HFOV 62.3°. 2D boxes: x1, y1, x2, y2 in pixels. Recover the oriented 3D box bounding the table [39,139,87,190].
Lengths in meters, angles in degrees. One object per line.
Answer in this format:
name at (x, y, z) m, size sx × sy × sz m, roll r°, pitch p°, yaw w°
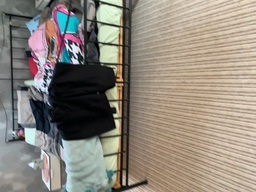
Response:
table at (-0.920, 0.930, 3.000) m, size 0.430 × 0.530 × 0.470 m, roll 10°, pitch 100°, yaw 54°
